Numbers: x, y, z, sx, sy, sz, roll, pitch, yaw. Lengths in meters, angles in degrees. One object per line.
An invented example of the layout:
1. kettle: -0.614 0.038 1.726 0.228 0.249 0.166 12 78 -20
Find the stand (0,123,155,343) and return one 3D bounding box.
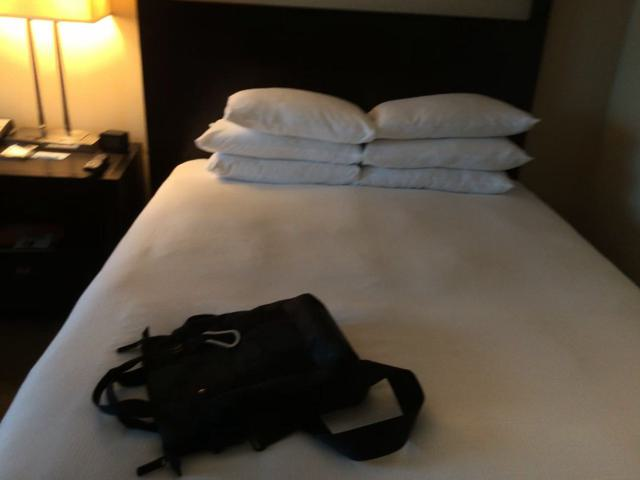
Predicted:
1. stand: -1.150 -0.050 2.360 0.810 0.720 0.540 3 22 -5
